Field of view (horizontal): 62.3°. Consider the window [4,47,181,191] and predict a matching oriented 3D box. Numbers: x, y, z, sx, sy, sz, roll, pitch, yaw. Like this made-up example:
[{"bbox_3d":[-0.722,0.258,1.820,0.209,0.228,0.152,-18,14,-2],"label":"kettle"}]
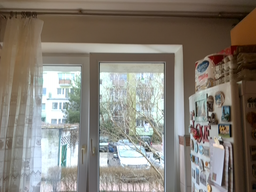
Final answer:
[{"bbox_3d":[-0.290,0.340,1.930,1.480,1.530,0.190,1,-7,-1],"label":"window"}]
